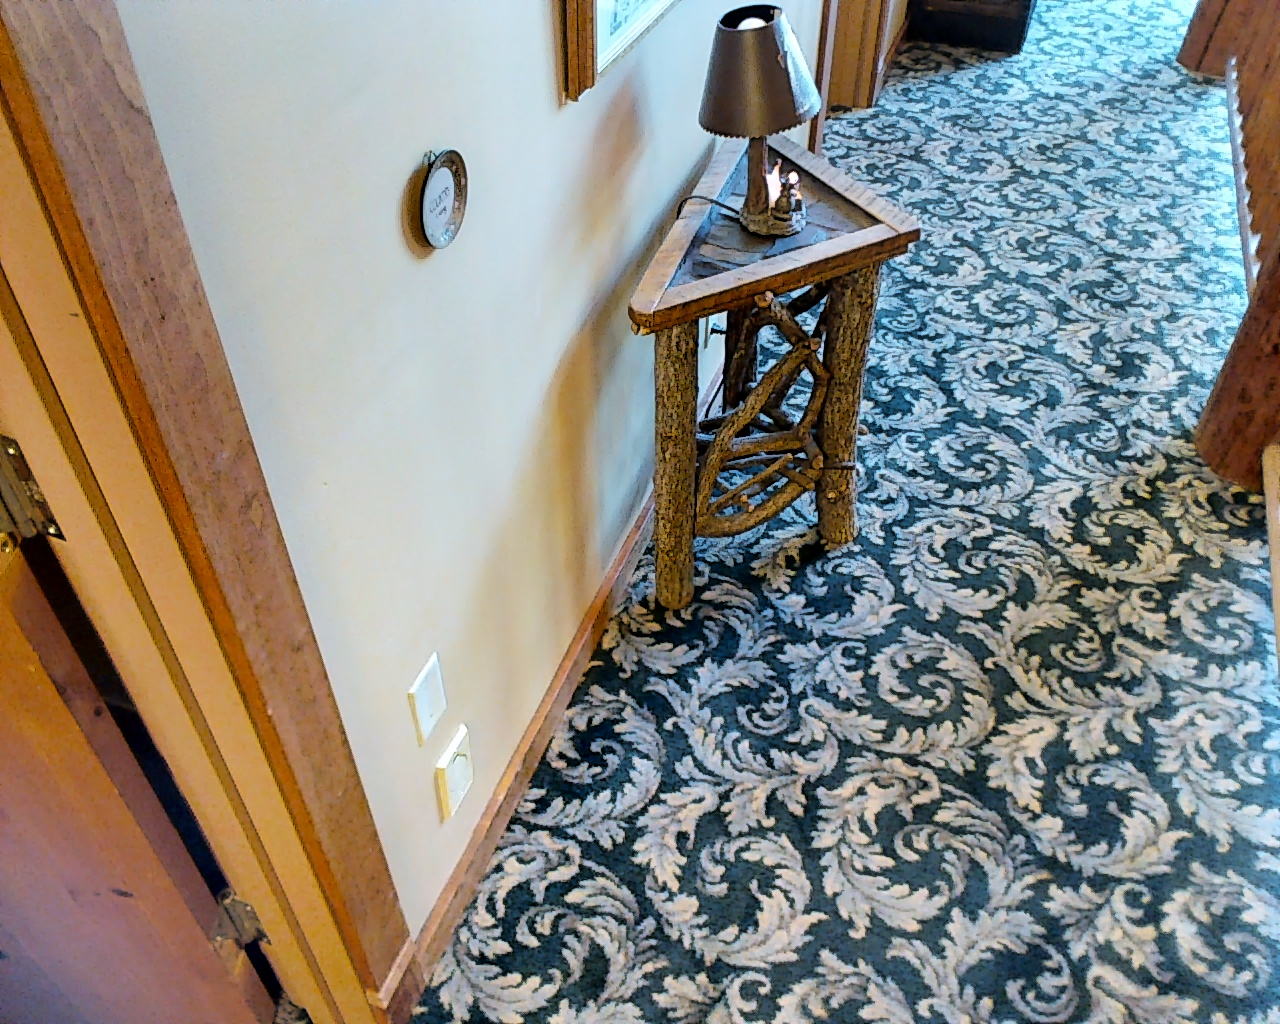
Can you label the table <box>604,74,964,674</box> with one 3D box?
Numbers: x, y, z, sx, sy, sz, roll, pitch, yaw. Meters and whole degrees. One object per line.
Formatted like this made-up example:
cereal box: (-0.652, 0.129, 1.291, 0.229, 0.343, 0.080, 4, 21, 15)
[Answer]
table: (0.280, -0.280, 2.060, 0.400, 0.770, 0.790, 15, 45, 16)
